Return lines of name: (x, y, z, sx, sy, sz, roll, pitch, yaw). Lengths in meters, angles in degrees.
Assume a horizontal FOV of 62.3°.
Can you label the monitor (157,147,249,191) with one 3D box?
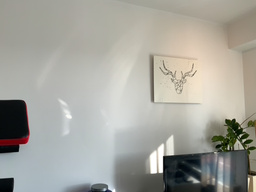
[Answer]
monitor: (0.570, 0.650, 1.540, 0.730, 0.460, 0.050, -2, -6, -20)
